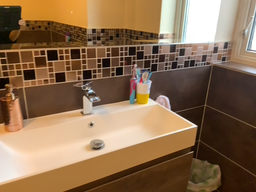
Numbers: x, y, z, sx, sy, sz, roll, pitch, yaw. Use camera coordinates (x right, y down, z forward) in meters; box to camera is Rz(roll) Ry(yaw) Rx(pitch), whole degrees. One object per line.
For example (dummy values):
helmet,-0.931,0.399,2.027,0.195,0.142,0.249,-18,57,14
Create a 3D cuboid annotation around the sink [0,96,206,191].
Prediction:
sink,-0.110,0.180,0.930,0.840,0.120,0.380,-9,24,-29
